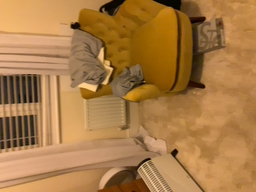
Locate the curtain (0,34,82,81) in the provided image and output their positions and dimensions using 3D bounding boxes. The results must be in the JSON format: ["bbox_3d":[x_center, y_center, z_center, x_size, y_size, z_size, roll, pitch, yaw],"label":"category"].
[{"bbox_3d":[-1.120,-0.270,1.480,0.180,1.600,0.330,0,93,56],"label":"curtain"}]

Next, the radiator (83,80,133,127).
[{"bbox_3d":[-0.190,0.060,2.090,0.120,0.480,0.420,2,95,56],"label":"radiator"}]

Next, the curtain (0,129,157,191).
[{"bbox_3d":[-0.730,0.590,1.580,0.270,2.270,0.330,2,95,56],"label":"curtain"}]

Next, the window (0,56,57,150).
[{"bbox_3d":[-1.130,0.060,1.590,0.160,1.100,0.710,0,93,56],"label":"window"}]
